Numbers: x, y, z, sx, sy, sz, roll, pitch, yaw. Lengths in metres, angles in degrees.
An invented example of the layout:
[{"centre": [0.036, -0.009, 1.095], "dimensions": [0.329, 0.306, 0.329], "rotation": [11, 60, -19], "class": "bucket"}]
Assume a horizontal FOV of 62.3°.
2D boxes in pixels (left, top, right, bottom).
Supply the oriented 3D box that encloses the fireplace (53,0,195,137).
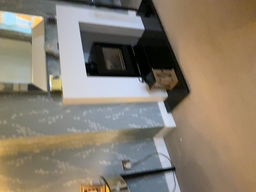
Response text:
[{"centre": [-0.190, -0.420, 2.220], "dimensions": [0.800, 1.030, 1.390], "rotation": [122, 141, -52], "class": "fireplace"}]
